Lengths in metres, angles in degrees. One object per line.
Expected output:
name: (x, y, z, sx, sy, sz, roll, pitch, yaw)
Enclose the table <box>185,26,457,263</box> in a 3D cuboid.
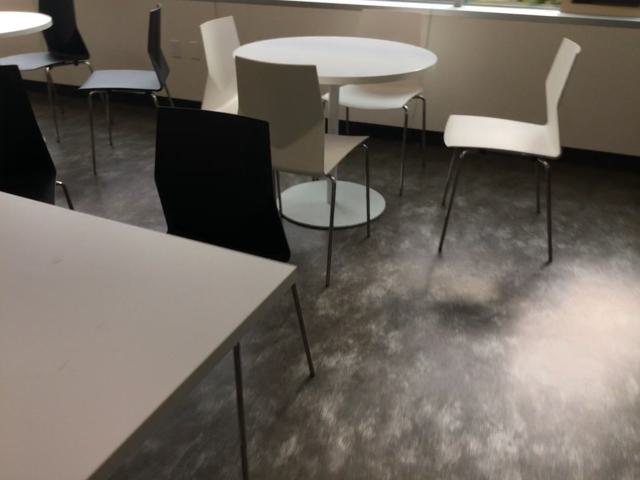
table: (0.040, -0.520, 2.750, 0.940, 0.730, 0.880, 14, 32, 19)
